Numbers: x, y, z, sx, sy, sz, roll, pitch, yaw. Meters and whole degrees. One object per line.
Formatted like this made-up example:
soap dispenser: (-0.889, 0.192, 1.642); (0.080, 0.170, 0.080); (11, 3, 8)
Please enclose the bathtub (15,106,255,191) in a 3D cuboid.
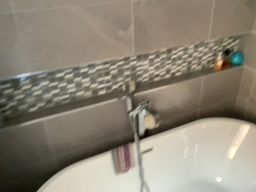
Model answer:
bathtub: (0.310, 0.720, 1.350); (1.740, 0.590, 0.840); (-14, 31, -20)
